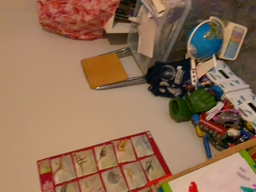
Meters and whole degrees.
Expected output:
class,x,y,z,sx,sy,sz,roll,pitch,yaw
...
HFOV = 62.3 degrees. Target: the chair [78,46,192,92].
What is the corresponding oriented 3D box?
class,x,y,z,sx,sy,sz,roll,pitch,yaw
chair,0.080,-0.270,1.920,0.090,0.970,0.360,108,144,-47
